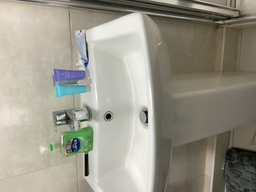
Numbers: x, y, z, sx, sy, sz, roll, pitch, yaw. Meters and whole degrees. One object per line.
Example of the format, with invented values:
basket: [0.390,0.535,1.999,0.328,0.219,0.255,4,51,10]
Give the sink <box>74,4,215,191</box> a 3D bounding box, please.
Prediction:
sink: [0.010,0.070,0.650,0.390,0.200,0.560,15,108,55]
